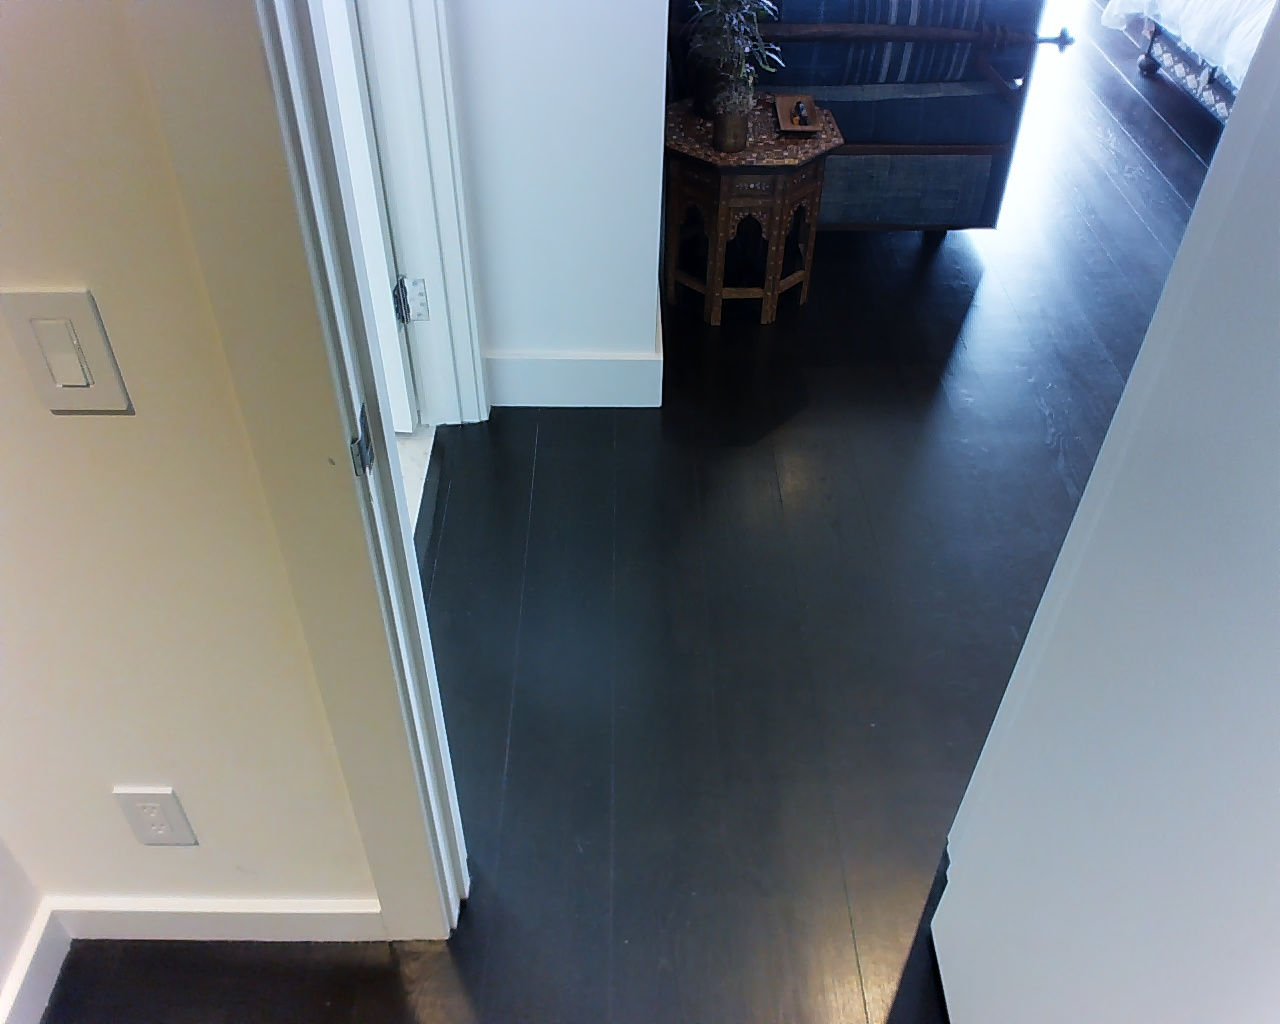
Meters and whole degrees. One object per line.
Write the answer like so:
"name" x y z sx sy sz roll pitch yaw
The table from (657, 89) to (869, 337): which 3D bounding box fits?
"table" 0.290 -0.780 2.810 0.470 0.490 0.410 0 42 -1
